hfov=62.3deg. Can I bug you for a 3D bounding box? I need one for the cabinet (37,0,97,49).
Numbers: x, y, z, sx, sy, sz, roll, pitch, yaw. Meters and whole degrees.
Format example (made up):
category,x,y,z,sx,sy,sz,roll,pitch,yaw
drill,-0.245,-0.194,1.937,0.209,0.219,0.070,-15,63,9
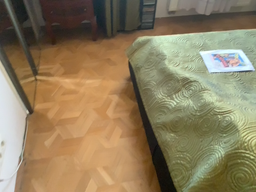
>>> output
category,x,y,z,sx,sy,sz,roll,pitch,yaw
cabinet,-0.560,-1.070,1.840,0.460,1.280,0.410,-5,50,-7
